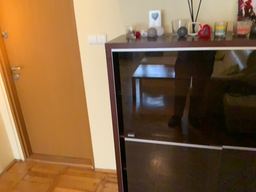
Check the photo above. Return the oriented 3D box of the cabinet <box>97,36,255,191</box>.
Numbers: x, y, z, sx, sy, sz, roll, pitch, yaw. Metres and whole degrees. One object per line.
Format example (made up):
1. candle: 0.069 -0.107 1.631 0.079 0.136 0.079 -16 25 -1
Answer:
1. cabinet: 0.580 0.280 1.520 1.400 1.320 0.450 3 23 13
